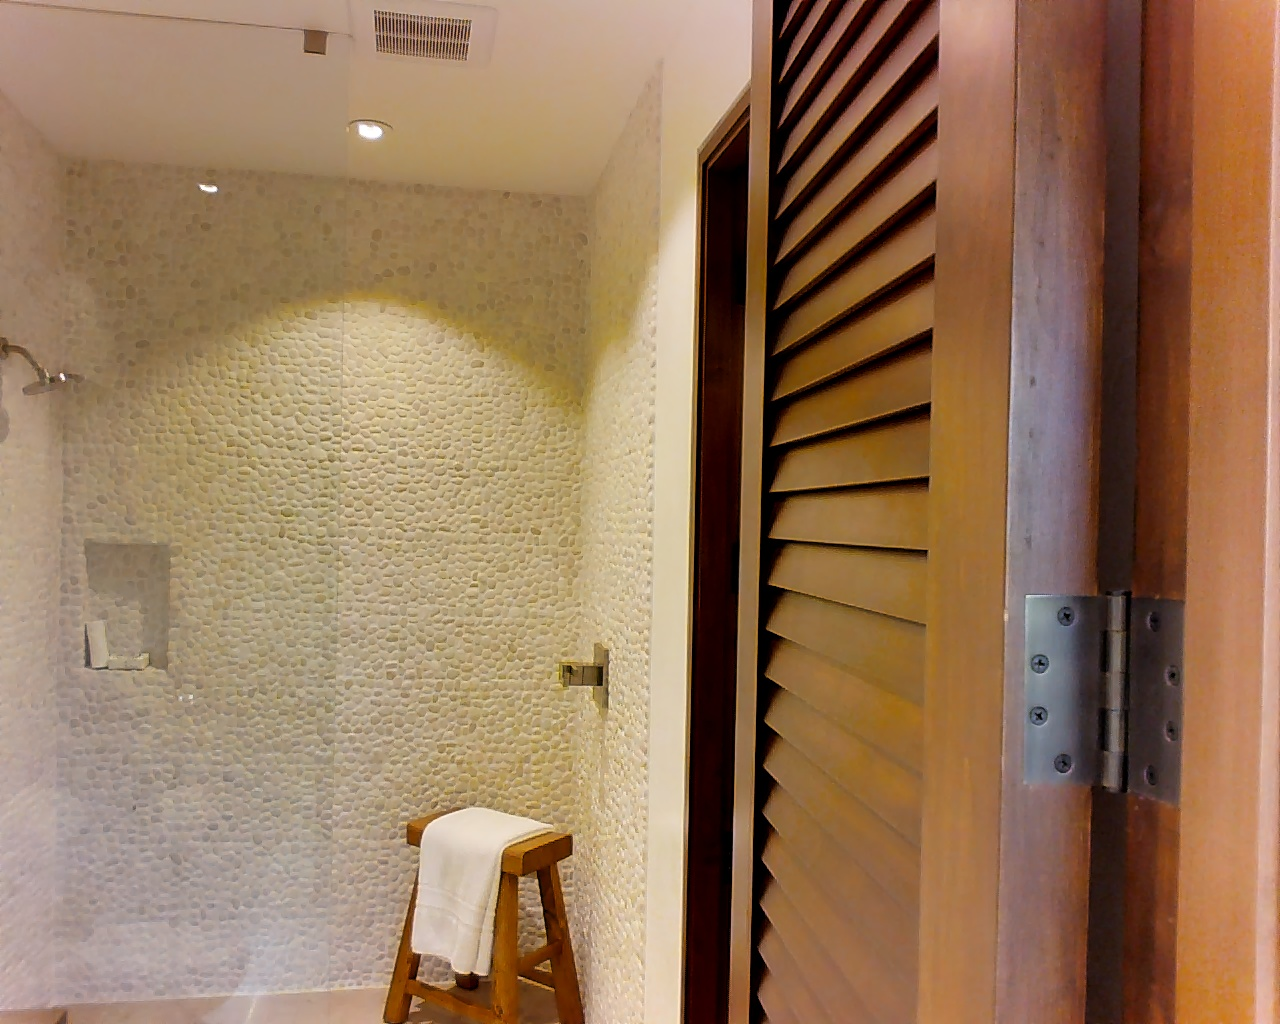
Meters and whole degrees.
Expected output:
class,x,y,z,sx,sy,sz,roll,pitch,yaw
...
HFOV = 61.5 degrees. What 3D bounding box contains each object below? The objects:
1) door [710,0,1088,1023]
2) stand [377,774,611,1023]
class,x,y,z,sx,sy,sz,roll,pitch,yaw
door,0.170,0.420,1.050,0.050,2.480,0.910,1,0,-5
stand,-0.470,1.270,3.460,0.580,0.680,0.460,1,0,39
